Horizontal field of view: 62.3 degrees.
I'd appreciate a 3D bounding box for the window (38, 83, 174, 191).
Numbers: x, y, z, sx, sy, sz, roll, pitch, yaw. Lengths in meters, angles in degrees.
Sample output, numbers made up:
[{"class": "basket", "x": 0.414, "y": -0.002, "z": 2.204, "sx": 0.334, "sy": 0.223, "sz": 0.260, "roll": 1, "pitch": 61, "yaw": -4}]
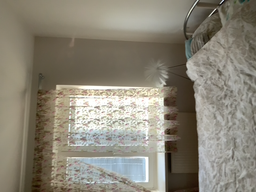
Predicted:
[{"class": "window", "x": -0.270, "y": 0.610, "z": 3.010, "sx": 0.330, "sy": 1.750, "sz": 1.500, "roll": 128, "pitch": 143, "yaw": -80}]
